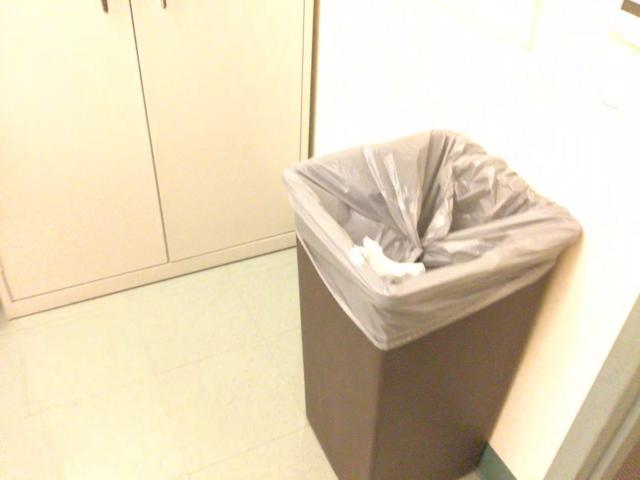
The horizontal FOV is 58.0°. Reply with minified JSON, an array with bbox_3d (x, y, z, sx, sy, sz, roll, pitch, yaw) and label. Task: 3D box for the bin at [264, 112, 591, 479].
[{"bbox_3d":[0.140,0.190,1.140,0.360,0.720,0.400,-14,40,-20],"label":"bin"}]
